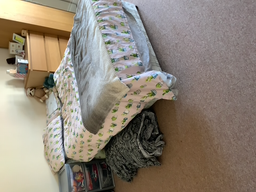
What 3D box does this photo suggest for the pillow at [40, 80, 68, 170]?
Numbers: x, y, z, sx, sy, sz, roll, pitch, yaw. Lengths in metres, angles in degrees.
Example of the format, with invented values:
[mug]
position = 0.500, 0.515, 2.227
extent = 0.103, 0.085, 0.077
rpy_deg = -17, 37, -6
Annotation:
[pillow]
position = -1.080, 0.390, 3.020
extent = 0.440, 0.190, 1.180
rpy_deg = -46, 50, 46
